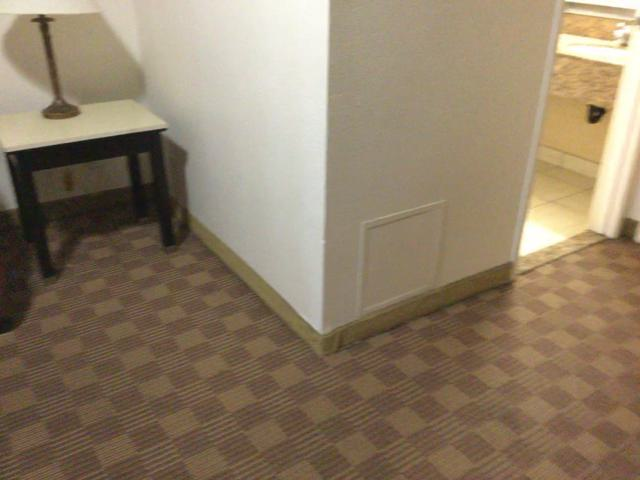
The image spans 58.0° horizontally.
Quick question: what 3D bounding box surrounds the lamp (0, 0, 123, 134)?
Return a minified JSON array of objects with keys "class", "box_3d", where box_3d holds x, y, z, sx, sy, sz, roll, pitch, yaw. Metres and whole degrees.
[{"class":"lamp","box_3d":[-1.050,-0.790,2.210,0.400,0.650,0.290,-18,32,-32]}]
